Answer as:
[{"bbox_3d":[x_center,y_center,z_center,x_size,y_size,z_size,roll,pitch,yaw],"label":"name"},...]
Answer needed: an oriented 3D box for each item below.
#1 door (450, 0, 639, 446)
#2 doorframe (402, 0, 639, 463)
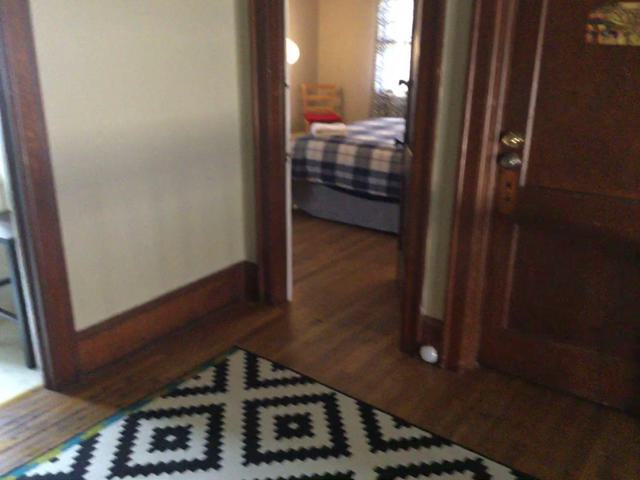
[{"bbox_3d":[1.010,-0.260,2.100,0.820,1.950,0.120,18,23,35],"label":"door"},{"bbox_3d":[0.990,-0.340,2.000,1.210,2.130,0.240,18,23,35],"label":"doorframe"}]
